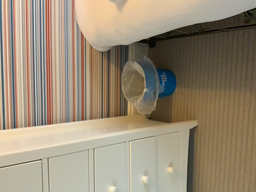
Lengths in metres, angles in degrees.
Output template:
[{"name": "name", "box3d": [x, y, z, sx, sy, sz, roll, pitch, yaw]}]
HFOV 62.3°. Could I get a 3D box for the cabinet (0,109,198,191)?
[{"name": "cabinet", "box3d": [-0.160, 0.540, 1.080, 0.480, 0.990, 0.830, 6, 97, 53]}]
